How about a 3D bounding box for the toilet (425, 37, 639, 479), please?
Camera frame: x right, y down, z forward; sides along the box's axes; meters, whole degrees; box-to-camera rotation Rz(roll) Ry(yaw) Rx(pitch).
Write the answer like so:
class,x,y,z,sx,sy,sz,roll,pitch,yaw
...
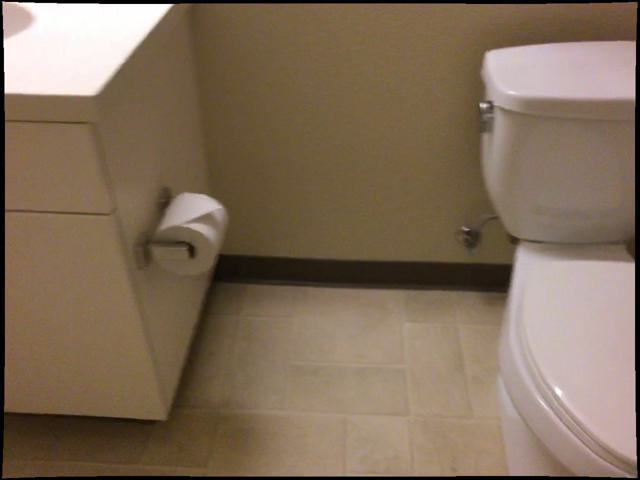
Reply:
class,x,y,z,sx,sy,sz,roll,pitch,yaw
toilet,0.549,0.130,1.160,0.489,0.801,0.761,1,40,1
